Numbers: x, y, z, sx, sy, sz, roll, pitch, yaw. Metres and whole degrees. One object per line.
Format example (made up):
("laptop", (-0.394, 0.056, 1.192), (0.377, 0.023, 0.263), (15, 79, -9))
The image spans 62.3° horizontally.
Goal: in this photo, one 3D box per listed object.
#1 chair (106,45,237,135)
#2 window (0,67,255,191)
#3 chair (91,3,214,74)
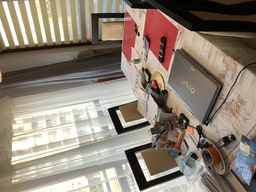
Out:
("chair", (0.360, -0.080, 1.980), (0.390, 1.050, 0.560), (-118, 25, -45))
("window", (-0.380, 0.670, 2.130), (2.650, 2.850, 0.180), (-118, 25, -45))
("chair", (0.210, -0.620, 2.160), (0.390, 1.050, 0.560), (97, 155, -44))
